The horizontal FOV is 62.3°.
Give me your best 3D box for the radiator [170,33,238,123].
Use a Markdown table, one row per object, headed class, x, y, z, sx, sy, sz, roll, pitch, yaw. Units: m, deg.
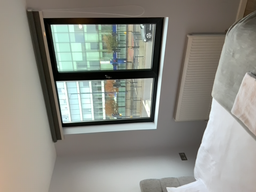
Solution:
| class | x | y | z | sx | sy | sz | roll | pitch | yaw |
| --- | --- | --- | --- | --- | --- | --- | --- | --- | --- |
| radiator | 0.930 | -0.180 | 2.740 | 0.050 | 0.620 | 1.250 | -102 | 12 | -58 |
